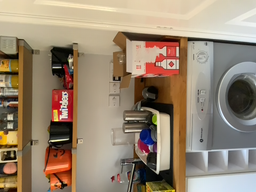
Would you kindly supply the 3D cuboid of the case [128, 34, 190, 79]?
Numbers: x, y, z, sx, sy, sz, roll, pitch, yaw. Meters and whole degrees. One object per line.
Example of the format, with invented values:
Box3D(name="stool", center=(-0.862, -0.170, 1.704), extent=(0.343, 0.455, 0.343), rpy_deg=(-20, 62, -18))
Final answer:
Box3D(name="case", center=(0.160, -0.210, 1.250), extent=(0.360, 0.240, 0.200), rpy_deg=(-170, 81, -76))
